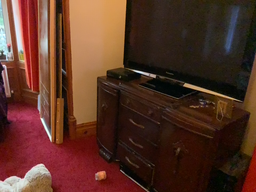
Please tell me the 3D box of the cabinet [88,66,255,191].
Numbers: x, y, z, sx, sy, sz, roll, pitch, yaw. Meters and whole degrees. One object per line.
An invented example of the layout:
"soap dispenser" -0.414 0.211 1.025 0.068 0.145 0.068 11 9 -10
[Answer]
"cabinet" 0.290 0.330 2.040 0.740 0.870 1.350 -15 28 -38

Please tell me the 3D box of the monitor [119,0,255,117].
"monitor" 0.390 -0.460 1.740 0.080 0.830 1.270 -12 27 -40
